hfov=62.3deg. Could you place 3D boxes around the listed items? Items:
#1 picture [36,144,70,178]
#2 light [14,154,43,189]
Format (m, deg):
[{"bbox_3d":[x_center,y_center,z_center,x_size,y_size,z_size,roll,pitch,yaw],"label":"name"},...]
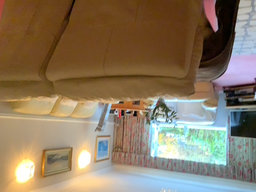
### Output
[{"bbox_3d":[-1.430,1.230,4.140,0.030,0.530,0.830,0,173,23],"label":"picture"},{"bbox_3d":[-1.670,1.260,3.580,0.110,0.470,0.420,0,172,24],"label":"light"}]
